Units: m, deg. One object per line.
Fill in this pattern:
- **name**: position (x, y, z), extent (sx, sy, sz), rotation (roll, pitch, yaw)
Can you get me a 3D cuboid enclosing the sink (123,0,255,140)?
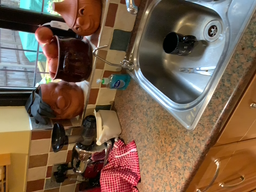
- **sink**: position (0.230, -0.170, 0.840), extent (0.520, 0.190, 0.420), rotation (49, 130, 46)
